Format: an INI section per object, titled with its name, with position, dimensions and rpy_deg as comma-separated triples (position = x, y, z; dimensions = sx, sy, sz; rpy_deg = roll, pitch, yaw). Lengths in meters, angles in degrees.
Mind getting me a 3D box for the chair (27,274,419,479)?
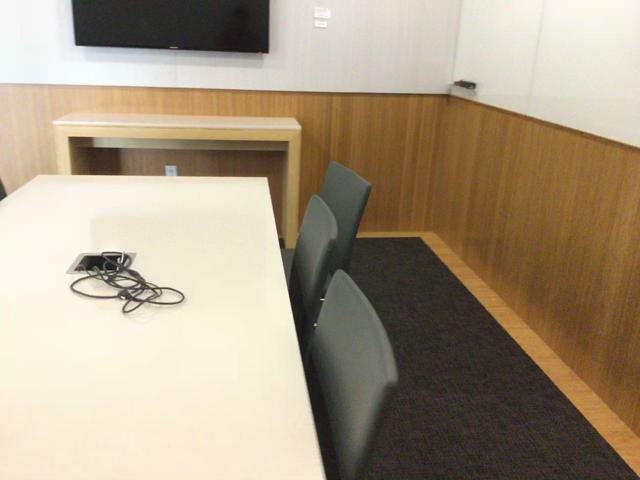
[chair]
position = -0.190, 0.540, 1.220
dimensions = 0.570, 0.800, 0.510
rpy_deg = 0, 19, -9
